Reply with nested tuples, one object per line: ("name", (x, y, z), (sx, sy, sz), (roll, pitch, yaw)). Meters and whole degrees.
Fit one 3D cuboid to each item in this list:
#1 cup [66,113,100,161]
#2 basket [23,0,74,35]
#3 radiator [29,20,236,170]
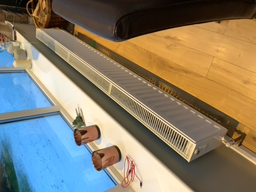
("cup", (-0.290, 0.250, 1.330), (0.220, 0.090, 0.190), (34, 121, 40))
("basket", (-0.950, -1.060, 2.500), (0.580, 0.360, 0.490), (36, 122, 40))
("radiator", (-0.230, -0.250, 1.670), (2.070, 0.410, 0.120), (38, 123, 39))
